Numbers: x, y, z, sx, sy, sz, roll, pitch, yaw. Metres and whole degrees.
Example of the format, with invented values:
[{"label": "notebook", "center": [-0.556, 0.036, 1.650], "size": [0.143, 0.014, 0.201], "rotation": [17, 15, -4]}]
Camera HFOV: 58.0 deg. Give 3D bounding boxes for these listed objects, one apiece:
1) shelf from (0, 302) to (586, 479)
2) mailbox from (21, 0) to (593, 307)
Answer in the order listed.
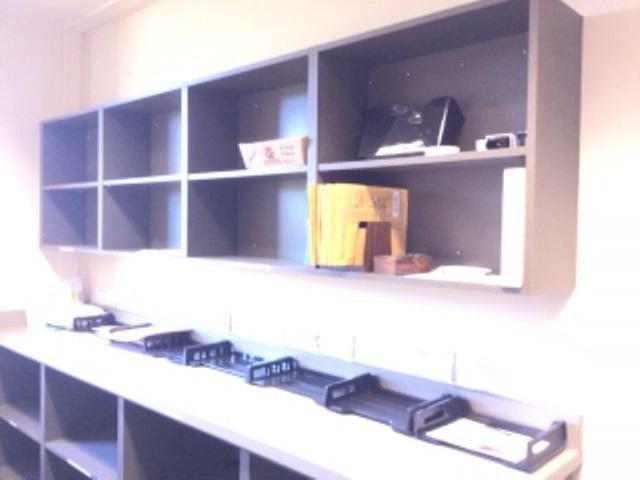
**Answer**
[{"label": "shelf", "center": [-0.610, 0.930, 2.370], "size": [3.020, 1.040, 0.640], "rotation": [1, 0, 44]}, {"label": "mailbox", "center": [-0.480, -0.290, 2.440], "size": [2.950, 0.830, 0.420], "rotation": [1, 0, 44]}]
